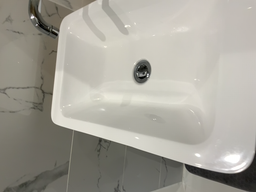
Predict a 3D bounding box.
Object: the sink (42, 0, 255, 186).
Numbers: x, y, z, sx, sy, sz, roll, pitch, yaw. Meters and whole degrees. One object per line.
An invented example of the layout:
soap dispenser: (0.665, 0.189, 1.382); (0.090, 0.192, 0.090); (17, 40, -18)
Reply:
sink: (-0.010, -0.090, 0.520); (0.600, 0.120, 0.390); (3, 87, 46)
